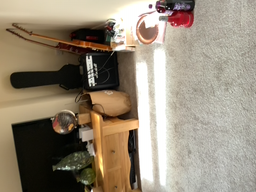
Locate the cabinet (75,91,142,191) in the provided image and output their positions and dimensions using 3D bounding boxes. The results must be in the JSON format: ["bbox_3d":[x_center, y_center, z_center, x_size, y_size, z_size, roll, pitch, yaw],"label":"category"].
[{"bbox_3d":[-0.210,0.610,2.280,0.570,0.420,1.230,12,109,59],"label":"cabinet"}]
